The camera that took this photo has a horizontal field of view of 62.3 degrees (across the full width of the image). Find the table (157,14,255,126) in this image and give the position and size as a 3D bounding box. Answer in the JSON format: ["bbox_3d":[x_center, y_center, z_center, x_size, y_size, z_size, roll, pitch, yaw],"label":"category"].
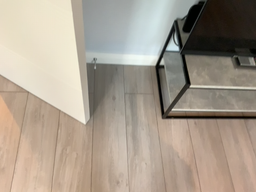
[{"bbox_3d":[0.750,-0.120,1.290,1.010,0.450,0.460,1,62,-9],"label":"table"}]
